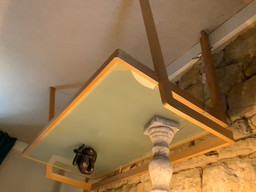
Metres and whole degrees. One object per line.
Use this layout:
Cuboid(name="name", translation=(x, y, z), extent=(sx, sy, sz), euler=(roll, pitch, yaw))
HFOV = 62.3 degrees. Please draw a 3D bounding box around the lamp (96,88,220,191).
Cuboid(name="lamp", translation=(0.110, 0.390, 0.890), extent=(0.310, 0.680, 0.410), euler=(30, 136, -27))
